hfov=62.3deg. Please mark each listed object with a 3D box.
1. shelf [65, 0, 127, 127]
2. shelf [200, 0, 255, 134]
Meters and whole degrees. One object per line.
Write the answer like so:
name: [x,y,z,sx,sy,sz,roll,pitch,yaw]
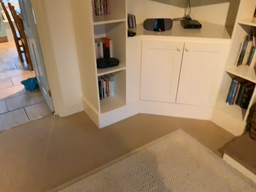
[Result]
shelf: [-0.290,-0.660,1.960,0.380,1.950,0.440,-20,37,-29]
shelf: [1.120,-0.590,1.890,0.440,1.940,0.380,-20,37,-29]
